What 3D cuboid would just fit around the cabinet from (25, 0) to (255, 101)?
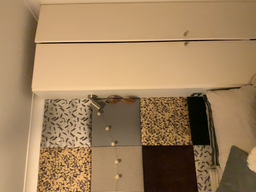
[{"bbox_3d":[0.350,-0.450,2.110,0.330,2.480,0.910,89,180,-73],"label":"cabinet"}]
